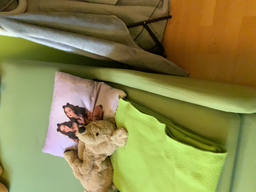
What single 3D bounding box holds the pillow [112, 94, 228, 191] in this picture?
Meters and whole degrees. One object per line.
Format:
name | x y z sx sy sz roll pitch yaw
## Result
pillow | 0.090 0.230 0.650 0.330 0.080 0.420 16 103 50
